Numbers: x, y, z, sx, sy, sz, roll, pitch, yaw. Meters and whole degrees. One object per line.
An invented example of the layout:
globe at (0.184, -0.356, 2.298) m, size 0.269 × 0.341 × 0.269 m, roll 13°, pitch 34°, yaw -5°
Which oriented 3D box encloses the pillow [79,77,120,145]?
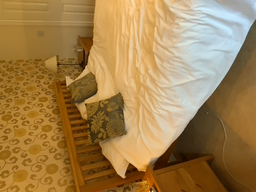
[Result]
pillow at (-0.220, 0.130, 1.790) m, size 0.150 × 0.380 × 0.420 m, roll -15°, pitch 48°, yaw 17°
